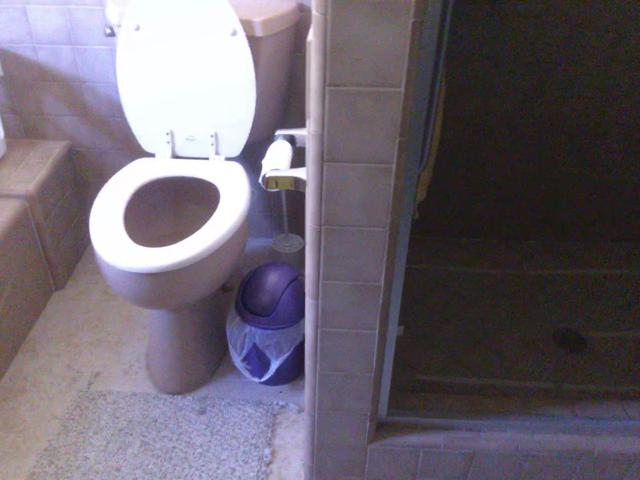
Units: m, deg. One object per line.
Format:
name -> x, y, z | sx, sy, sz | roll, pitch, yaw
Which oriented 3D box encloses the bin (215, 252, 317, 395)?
bin -> -0.120, 0.210, 1.440 | 0.220, 0.310, 0.190 | 0, 38, 0
